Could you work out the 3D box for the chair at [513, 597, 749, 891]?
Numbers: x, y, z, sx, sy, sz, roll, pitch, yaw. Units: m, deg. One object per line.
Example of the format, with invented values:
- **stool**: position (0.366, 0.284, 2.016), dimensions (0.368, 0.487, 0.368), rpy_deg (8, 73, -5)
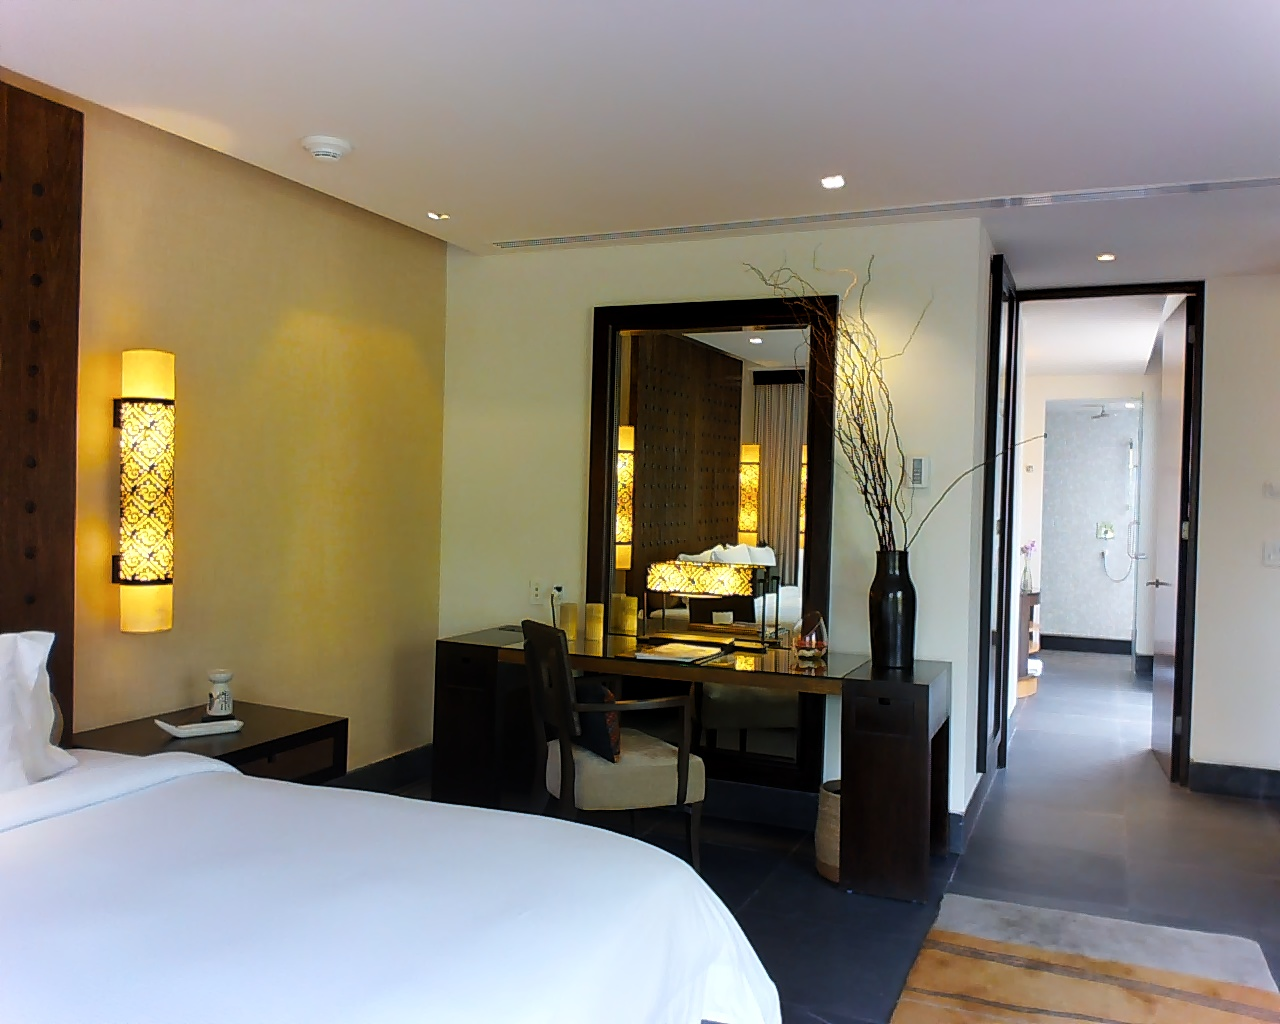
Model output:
- **chair**: position (-0.050, 0.820, 4.060), dimensions (0.690, 0.930, 0.610), rpy_deg (1, 1, -22)
